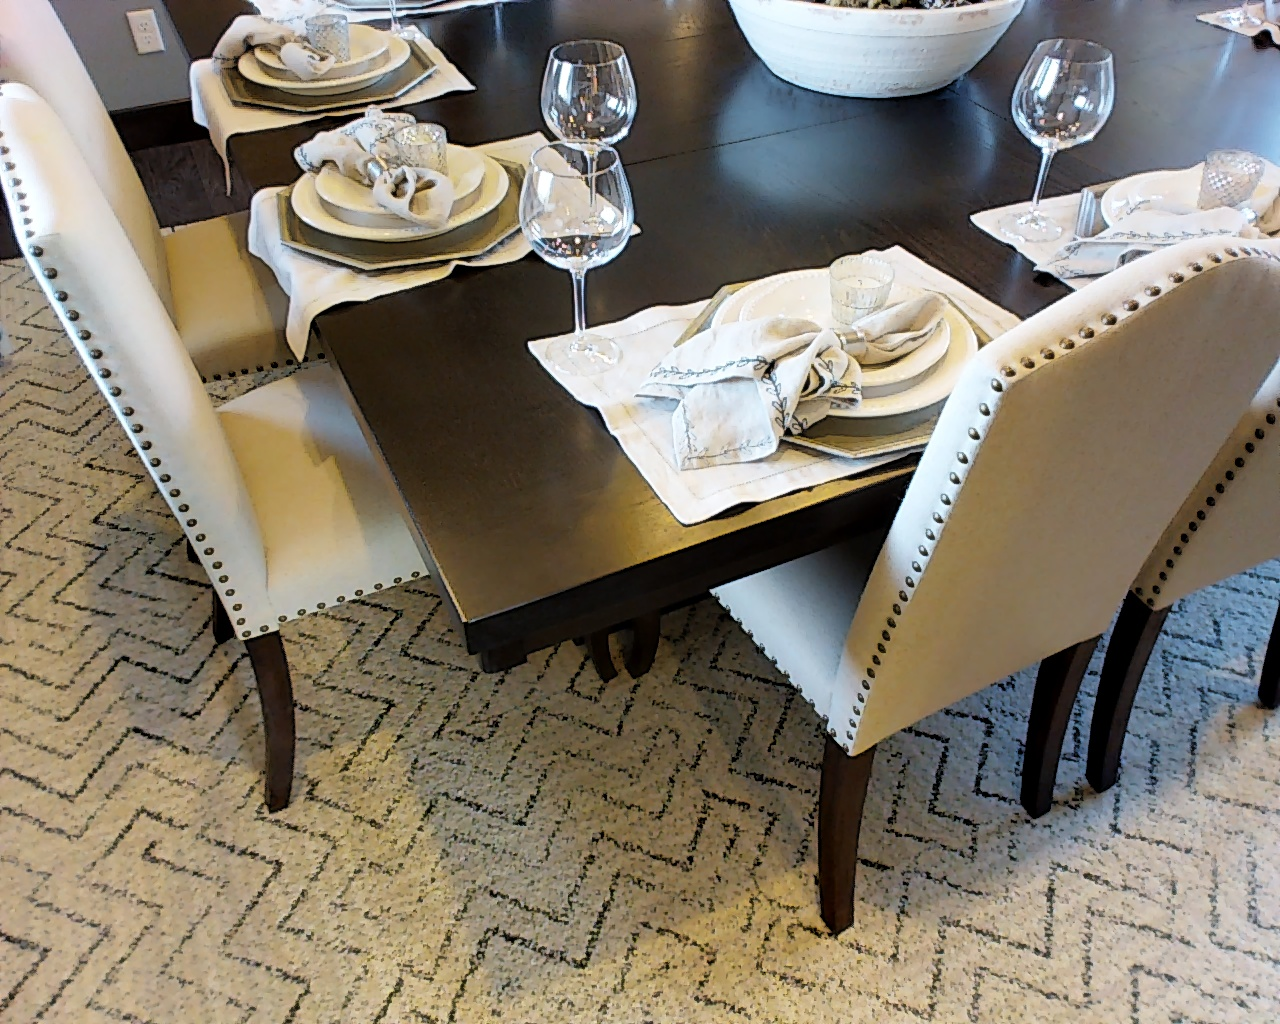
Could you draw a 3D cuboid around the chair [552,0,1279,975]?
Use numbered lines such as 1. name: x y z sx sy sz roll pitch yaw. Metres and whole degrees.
1. chair: 0.300 -0.050 1.420 0.540 0.980 0.730 -18 45 -19
